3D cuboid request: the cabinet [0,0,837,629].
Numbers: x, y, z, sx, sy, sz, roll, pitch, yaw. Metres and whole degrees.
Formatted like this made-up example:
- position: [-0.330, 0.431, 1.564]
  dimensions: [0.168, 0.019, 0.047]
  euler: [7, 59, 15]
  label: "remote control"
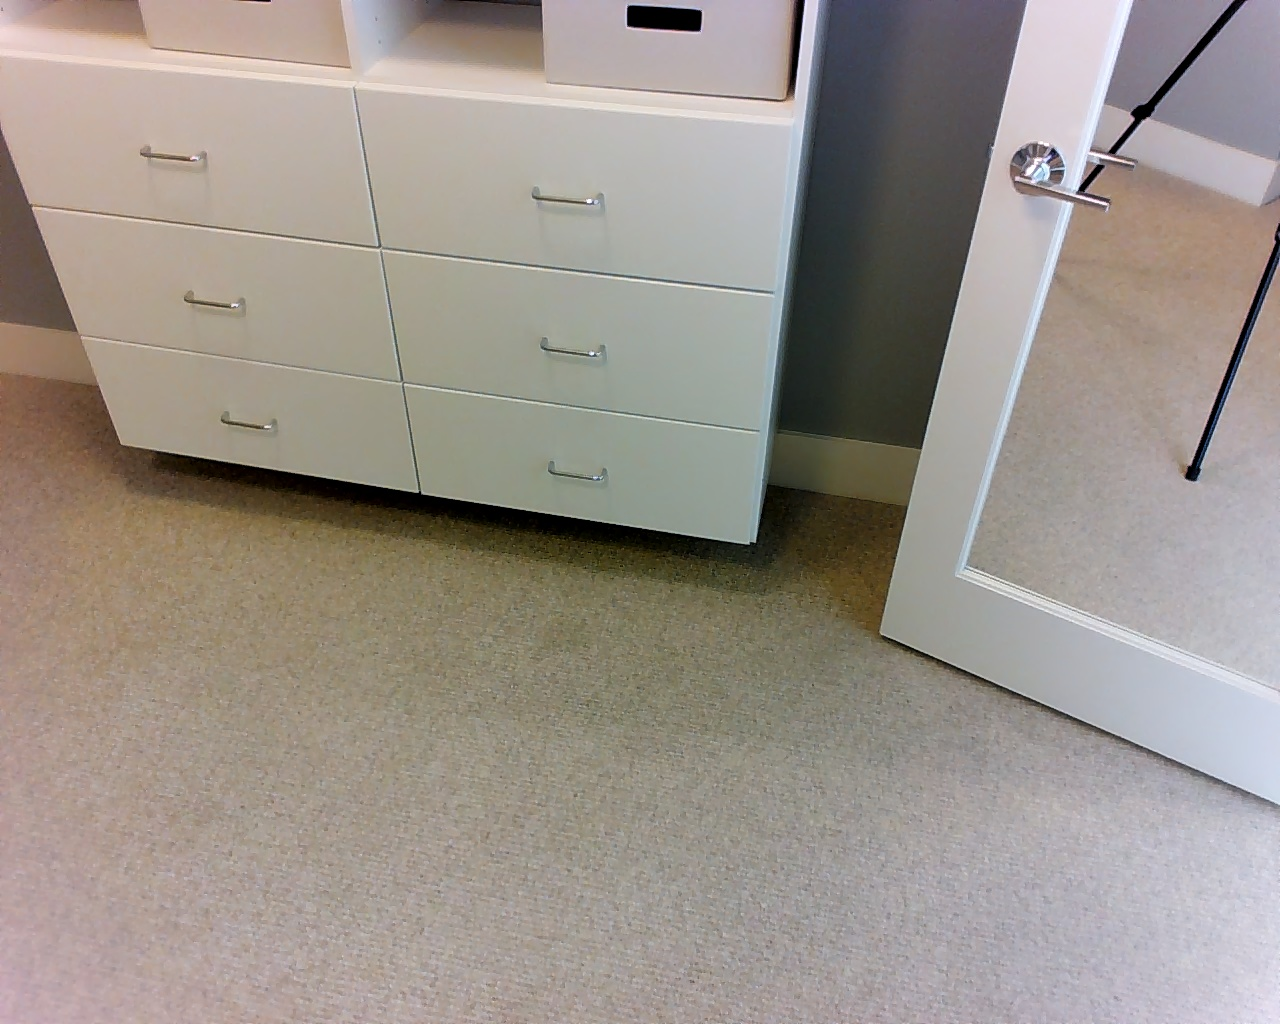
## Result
- position: [-0.400, -0.880, 1.550]
  dimensions: [1.360, 2.290, 0.440]
  euler: [8, 41, 10]
  label: "cabinet"
